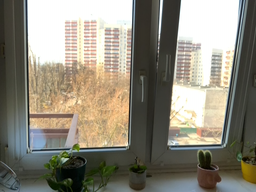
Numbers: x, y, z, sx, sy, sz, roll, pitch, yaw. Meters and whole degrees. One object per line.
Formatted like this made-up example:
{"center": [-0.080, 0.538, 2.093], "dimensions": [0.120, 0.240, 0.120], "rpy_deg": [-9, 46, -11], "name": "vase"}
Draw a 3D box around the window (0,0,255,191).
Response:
{"center": [0.420, -0.130, 0.980], "dimensions": [2.160, 1.230, 0.100], "rpy_deg": [1, 7, -13], "name": "window"}
